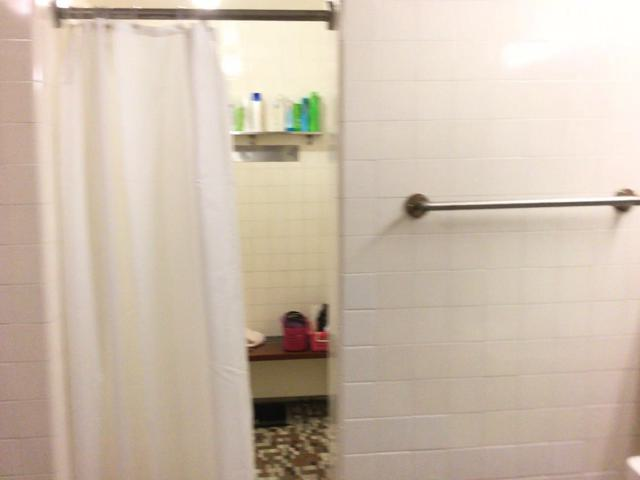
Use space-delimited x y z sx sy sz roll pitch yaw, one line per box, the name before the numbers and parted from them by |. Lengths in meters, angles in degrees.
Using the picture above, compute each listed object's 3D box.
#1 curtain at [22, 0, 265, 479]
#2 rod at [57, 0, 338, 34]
curtain | -0.470 0.230 1.770 0.580 2.010 0.460 -1 5 -5
rod | -0.340 -0.650 1.670 0.780 0.080 0.070 -1 5 -6
